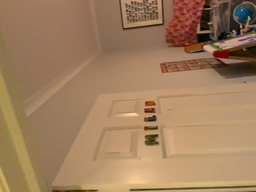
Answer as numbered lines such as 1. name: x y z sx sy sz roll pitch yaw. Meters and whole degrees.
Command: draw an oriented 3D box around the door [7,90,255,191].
1. door: 0.640 0.160 0.820 0.790 2.010 0.090 -78 -18 -67
